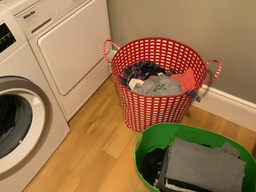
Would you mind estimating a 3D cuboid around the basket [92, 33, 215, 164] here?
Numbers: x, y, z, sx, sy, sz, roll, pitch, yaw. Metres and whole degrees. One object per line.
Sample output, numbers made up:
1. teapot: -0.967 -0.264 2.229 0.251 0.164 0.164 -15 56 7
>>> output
1. basket: 0.160 0.000 1.250 0.490 0.430 0.500 17 53 16
